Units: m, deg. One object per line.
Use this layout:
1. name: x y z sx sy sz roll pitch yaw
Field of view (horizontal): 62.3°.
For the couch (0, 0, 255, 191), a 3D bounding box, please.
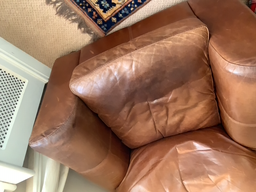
1. couch: 0.180 0.150 1.100 1.030 0.900 0.910 -20 137 16
